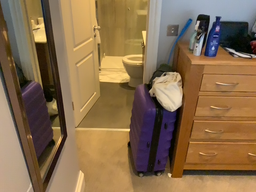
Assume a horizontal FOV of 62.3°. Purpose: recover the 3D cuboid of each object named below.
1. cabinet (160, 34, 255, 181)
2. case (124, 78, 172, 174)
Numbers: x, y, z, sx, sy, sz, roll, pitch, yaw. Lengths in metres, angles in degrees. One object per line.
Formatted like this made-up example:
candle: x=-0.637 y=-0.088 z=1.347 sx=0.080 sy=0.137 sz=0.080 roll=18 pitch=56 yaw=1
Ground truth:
cabinet: x=0.760 y=0.100 z=1.630 sx=0.880 sy=1.000 sz=0.500 roll=1 pitch=29 yaw=0
case: x=0.130 y=0.230 z=1.680 sx=0.300 sy=0.600 sz=0.440 roll=2 pitch=29 yaw=1
